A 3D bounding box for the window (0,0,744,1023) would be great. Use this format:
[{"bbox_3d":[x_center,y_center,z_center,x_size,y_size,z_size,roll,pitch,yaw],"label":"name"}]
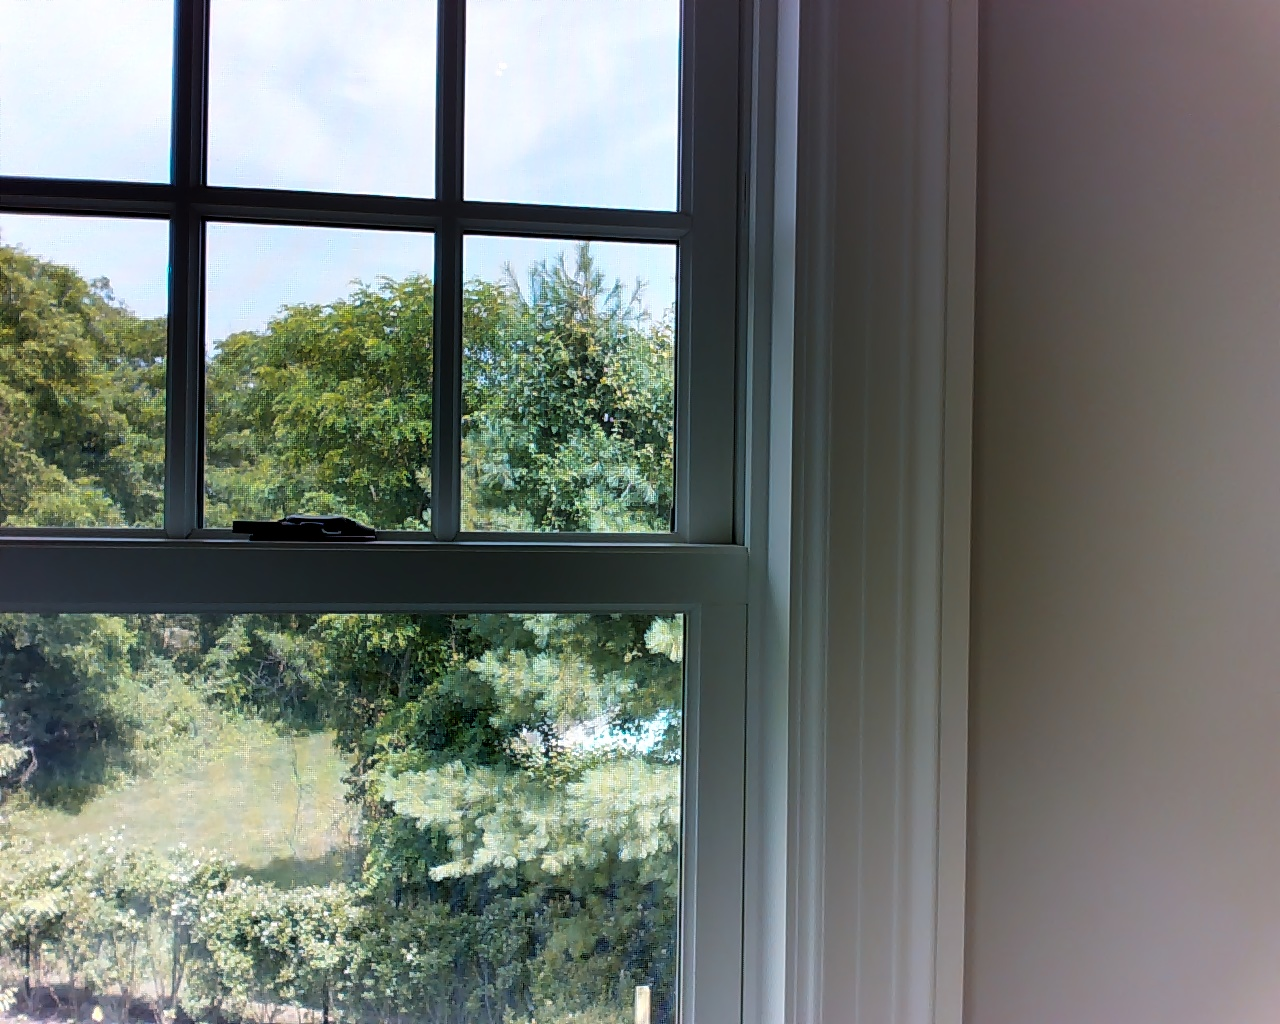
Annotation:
[{"bbox_3d":[-0.250,0.040,0.810,0.640,1.190,0.070,1,0,-10],"label":"window"}]
